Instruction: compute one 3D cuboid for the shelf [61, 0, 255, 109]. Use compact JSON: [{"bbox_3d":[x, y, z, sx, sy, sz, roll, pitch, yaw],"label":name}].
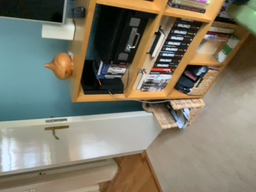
[{"bbox_3d":[0.290,-0.630,1.170,0.410,1.080,1.600,66,146,37],"label":"shelf"}]
